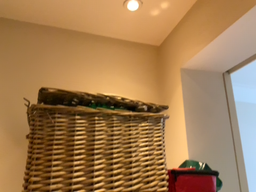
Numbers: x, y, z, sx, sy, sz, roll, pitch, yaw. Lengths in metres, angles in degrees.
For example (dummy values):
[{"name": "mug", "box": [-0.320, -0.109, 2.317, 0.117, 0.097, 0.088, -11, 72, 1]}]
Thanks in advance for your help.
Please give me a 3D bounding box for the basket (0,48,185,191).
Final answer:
[{"name": "basket", "box": [-0.150, 0.170, 0.800, 0.430, 0.380, 0.590, 6, -19, -17]}]
